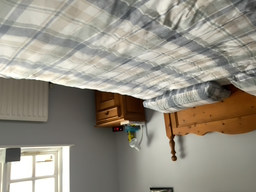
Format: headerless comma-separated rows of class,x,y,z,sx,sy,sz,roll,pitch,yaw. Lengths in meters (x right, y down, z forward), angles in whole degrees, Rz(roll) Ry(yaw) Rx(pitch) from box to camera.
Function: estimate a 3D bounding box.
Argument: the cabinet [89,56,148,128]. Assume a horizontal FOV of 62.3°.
cabinet,-0.140,-0.010,2.720,0.440,0.750,0.570,10,159,-44
